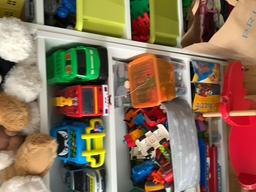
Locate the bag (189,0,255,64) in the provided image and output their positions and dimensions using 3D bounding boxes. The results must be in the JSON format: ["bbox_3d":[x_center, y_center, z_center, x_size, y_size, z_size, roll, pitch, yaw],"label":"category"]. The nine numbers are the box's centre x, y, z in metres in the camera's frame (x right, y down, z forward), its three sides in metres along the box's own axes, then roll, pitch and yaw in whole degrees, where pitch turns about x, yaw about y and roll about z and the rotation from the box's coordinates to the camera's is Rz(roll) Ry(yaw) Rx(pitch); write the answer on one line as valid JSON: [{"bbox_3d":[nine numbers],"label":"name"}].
[{"bbox_3d":[0.520,-0.400,0.980,0.230,0.460,0.430,-2,89,52],"label":"bag"}]
